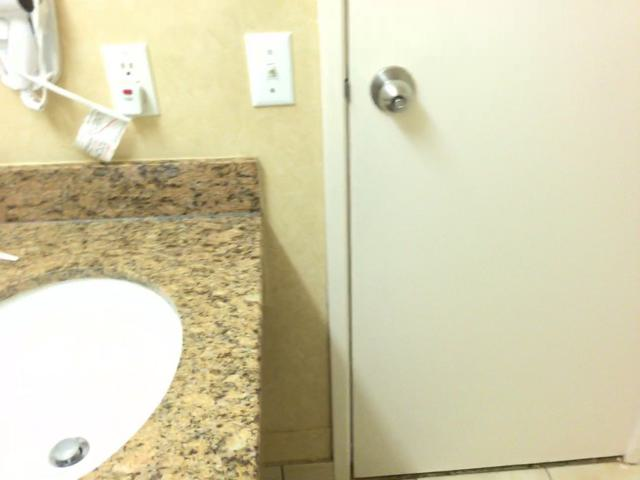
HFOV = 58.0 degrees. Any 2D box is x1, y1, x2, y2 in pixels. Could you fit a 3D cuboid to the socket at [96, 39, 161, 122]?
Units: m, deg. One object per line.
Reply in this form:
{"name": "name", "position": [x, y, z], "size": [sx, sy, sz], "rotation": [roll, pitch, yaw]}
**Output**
{"name": "socket", "position": [-0.300, -0.250, 0.910], "size": [0.070, 0.120, 0.020], "rotation": [-5, 30, -1]}

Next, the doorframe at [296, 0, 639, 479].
{"name": "doorframe", "position": [0.410, -0.220, 0.990], "size": [0.870, 1.900, 0.030], "rotation": [-5, 30, -1]}

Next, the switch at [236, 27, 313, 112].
{"name": "switch", "position": [-0.070, -0.270, 0.920], "size": [0.110, 0.120, 0.020], "rotation": [-5, 30, -1]}
